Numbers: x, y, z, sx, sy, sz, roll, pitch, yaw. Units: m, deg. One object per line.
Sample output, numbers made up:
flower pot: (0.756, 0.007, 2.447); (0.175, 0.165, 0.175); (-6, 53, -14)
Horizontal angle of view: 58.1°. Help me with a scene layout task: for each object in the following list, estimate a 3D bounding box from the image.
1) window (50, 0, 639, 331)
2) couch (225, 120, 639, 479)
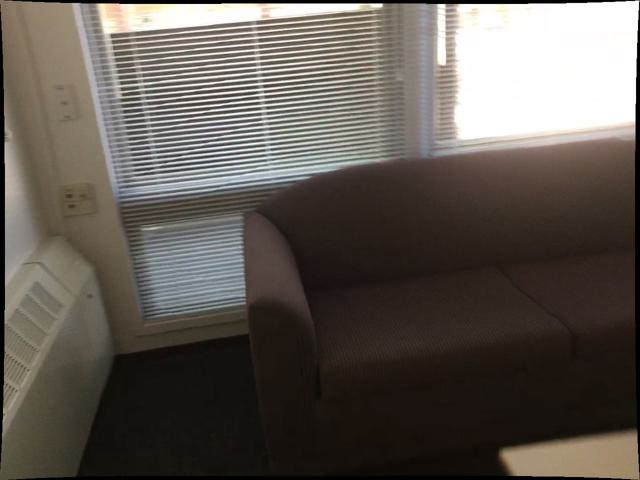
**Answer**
window: (0.309, -0.801, 2.230); (2.376, 1.993, 0.470); (-8, 24, -6)
couch: (0.619, 0.140, 2.070); (1.797, 0.771, 0.930); (-8, 24, -6)
